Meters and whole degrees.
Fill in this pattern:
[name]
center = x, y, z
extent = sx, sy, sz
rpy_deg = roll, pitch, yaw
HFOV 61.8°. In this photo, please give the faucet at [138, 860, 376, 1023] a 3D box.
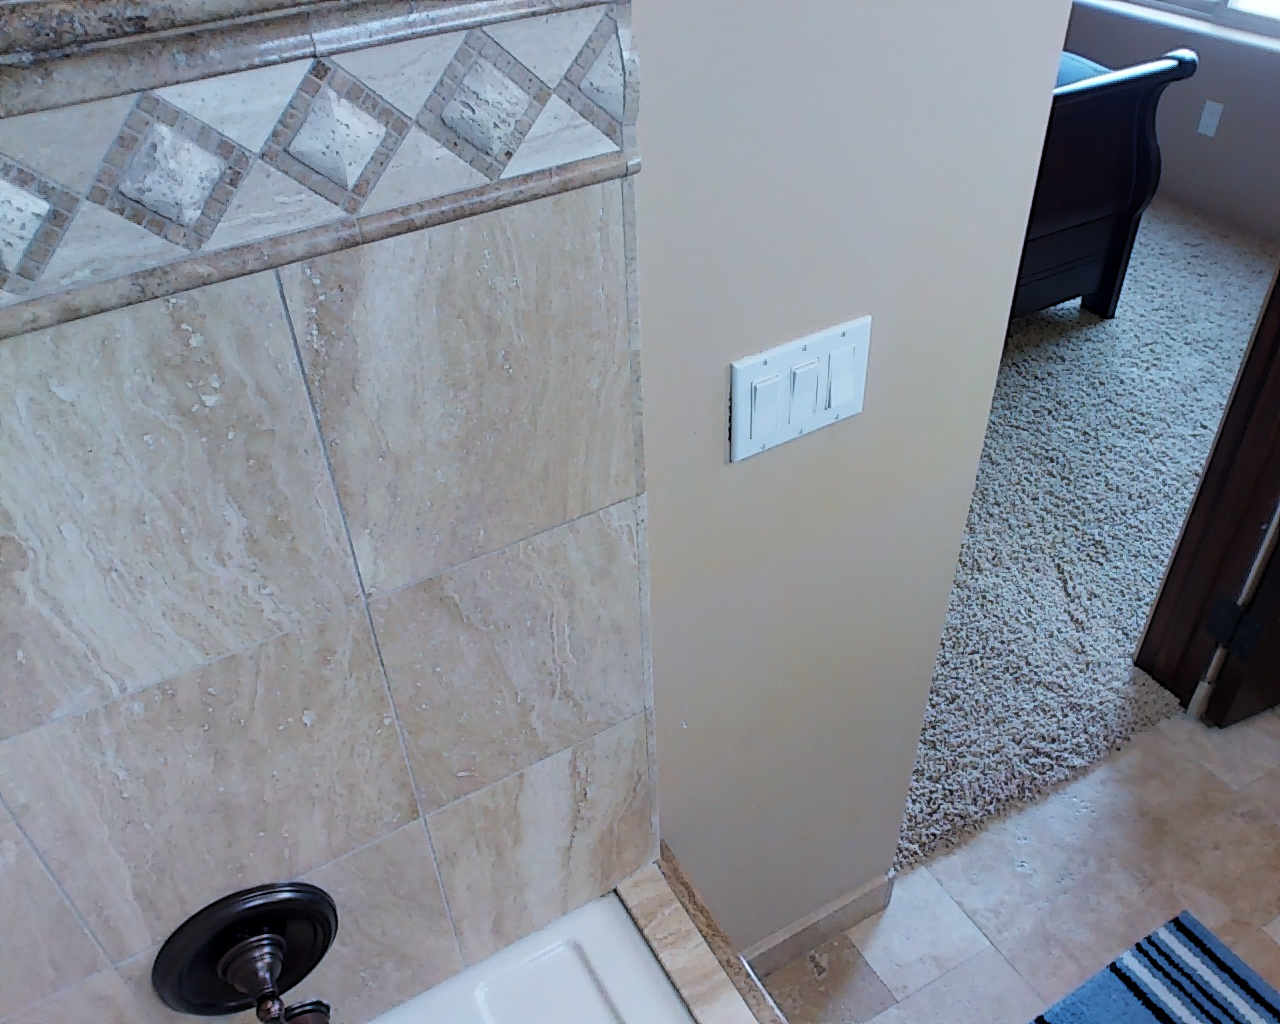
[faucet]
center = -0.360, 0.440, 1.020
extent = 0.170, 0.140, 0.080
rpy_deg = -21, 43, -20
